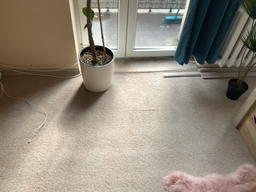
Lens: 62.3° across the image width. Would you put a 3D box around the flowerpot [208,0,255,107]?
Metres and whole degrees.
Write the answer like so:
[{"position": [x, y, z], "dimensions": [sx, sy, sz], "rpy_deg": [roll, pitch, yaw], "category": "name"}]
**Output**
[{"position": [1.040, -0.420, 1.560], "dimensions": [0.420, 1.110, 0.350], "rpy_deg": [-1, 47, -6], "category": "flowerpot"}]
